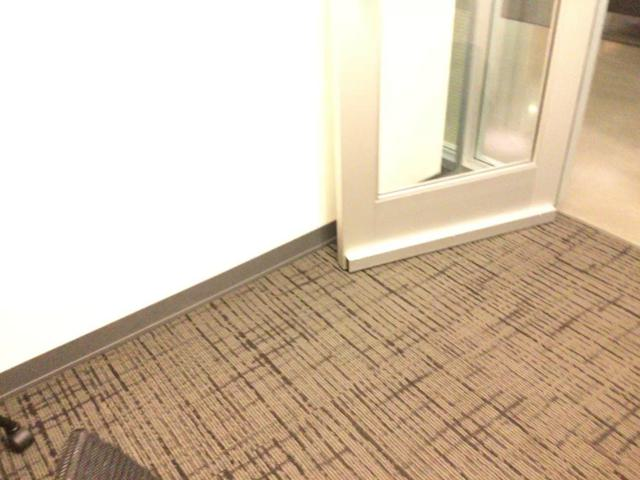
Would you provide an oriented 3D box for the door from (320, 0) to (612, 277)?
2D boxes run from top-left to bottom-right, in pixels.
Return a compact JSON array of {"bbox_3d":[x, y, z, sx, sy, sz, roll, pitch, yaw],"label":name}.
[{"bbox_3d":[0.450,-0.820,1.650,0.930,1.970,0.110,-16,36,-13],"label":"door"}]
